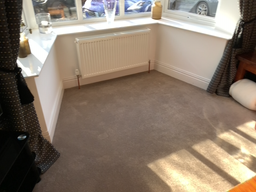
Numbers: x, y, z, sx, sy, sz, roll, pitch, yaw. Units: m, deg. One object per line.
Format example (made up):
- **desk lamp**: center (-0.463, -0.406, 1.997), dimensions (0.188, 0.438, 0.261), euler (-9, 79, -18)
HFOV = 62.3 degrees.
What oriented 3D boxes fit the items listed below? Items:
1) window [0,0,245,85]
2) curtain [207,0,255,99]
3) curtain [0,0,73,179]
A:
- **window**: center (-0.110, -1.320, 2.000), dimensions (2.540, 1.680, 1.050), euler (-14, 37, -22)
- **curtain**: center (1.350, -1.020, 2.200), dimensions (0.570, 2.280, 0.160), euler (-14, 37, -22)
- **curtain**: center (-0.740, -0.410, 1.240), dimensions (0.500, 2.400, 0.170), euler (-14, 37, -22)
